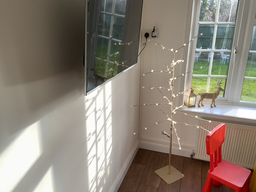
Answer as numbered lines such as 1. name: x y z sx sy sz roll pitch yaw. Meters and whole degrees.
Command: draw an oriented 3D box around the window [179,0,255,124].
1. window: 1.450 -0.460 2.430 1.520 1.590 0.200 7 20 16
